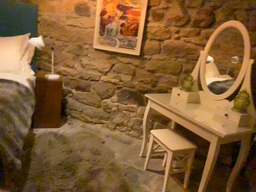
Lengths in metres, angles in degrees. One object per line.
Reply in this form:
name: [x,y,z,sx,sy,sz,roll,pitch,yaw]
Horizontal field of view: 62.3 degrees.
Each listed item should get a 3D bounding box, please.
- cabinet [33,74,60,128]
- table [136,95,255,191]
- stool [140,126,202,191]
cabinet: [-1.100,0.060,2.880,0.290,0.640,0.370,3,17,-19]
table: [0.640,0.470,2.170,0.610,0.710,0.930,-1,18,-31]
stool: [0.400,0.600,2.090,0.330,0.440,0.420,-1,18,-29]
